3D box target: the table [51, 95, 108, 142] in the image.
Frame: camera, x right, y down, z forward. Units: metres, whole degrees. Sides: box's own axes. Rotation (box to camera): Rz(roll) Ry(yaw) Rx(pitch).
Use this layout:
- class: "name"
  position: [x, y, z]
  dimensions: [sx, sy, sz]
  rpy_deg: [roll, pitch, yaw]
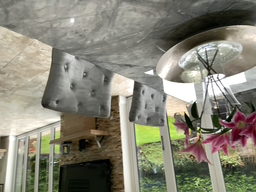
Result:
- class: "table"
  position: [-1.050, 0.520, 4.420]
  dimensions: [1.300, 0.700, 0.400]
  rpy_deg: [-18, 157, 35]

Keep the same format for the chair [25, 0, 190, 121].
- class: "chair"
  position: [-0.140, -0.450, 1.320]
  dimensions: [0.690, 1.030, 0.580]
  rpy_deg: [-18, 158, 34]

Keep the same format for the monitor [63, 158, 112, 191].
- class: "monitor"
  position: [-0.840, 1.690, 4.150]
  dimensions: [1.350, 0.810, 0.050]
  rpy_deg: [-18, 157, 35]
